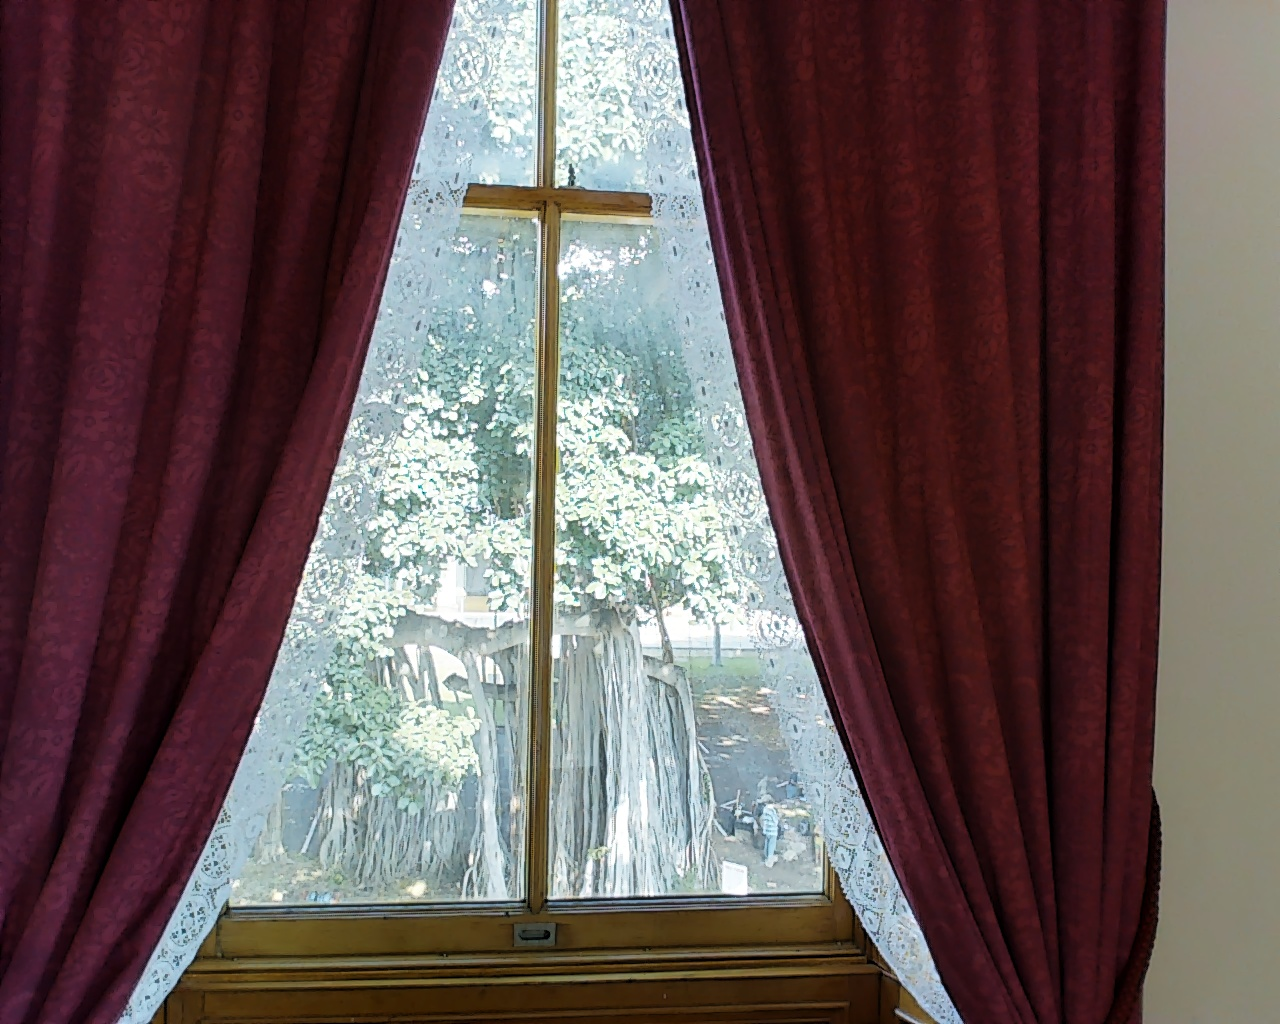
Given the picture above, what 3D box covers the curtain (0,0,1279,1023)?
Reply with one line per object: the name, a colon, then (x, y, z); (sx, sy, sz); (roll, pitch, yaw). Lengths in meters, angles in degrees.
curtain: (-0.080, -0.230, 1.580); (2.020, 3.520, 0.260); (-2, 1, -6)
